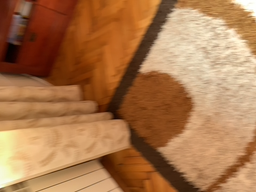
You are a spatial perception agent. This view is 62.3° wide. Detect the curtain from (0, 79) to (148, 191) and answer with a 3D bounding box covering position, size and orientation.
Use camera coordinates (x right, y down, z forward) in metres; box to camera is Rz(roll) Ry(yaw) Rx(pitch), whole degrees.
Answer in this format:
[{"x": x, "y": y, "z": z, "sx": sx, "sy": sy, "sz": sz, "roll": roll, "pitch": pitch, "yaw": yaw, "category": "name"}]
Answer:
[{"x": -0.920, "y": 0.160, "z": 0.610, "sx": 0.610, "sy": 2.690, "sz": 0.250, "roll": 39, "pitch": 111, "yaw": 31, "category": "curtain"}]
